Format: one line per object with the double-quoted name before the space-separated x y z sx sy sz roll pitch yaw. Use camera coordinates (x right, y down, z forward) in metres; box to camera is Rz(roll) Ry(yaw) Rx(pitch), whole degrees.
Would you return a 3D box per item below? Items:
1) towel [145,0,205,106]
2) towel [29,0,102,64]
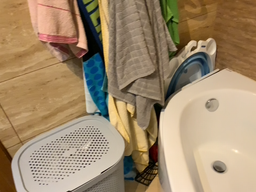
"towel" 0.190 -0.360 0.900 0.150 0.840 0.200 -22 41 -21
"towel" -0.220 -0.380 0.640 0.180 0.530 0.110 -25 42 -24
